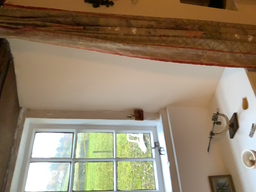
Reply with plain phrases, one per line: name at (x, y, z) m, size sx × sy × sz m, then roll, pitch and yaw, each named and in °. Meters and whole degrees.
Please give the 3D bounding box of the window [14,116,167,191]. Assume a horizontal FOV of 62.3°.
window at (-0.200, 0.600, 1.250) m, size 0.130 × 0.860 × 0.960 m, roll 112°, pitch 158°, yaw -60°
